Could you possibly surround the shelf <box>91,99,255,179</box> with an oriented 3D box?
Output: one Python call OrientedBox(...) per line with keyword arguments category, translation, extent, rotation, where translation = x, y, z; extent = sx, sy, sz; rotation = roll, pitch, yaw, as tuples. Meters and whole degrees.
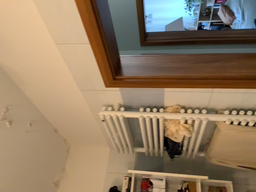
OrientedBox(category="shelf", translation=(0.510, 0.350, 1.530), extent=(0.790, 1.360, 0.200), rotation=(78, -163, -54))
